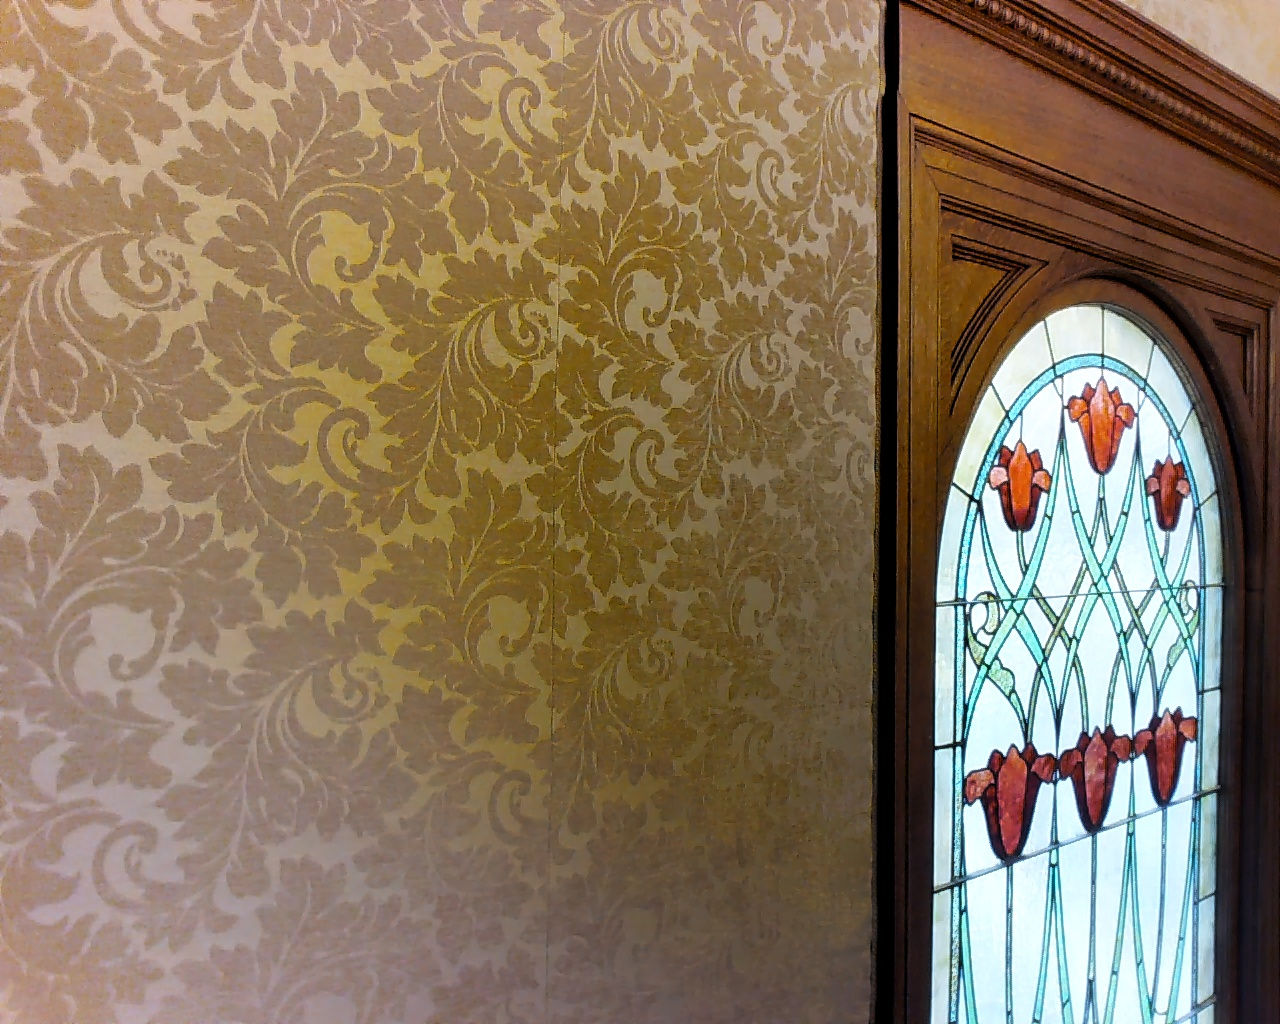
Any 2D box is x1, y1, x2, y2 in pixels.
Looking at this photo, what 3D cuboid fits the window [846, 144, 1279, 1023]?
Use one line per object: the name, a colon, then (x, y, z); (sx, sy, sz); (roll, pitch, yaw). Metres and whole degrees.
window: (0.820, 0.820, 1.920); (1.240, 2.641, 0.130); (1, 0, -40)
